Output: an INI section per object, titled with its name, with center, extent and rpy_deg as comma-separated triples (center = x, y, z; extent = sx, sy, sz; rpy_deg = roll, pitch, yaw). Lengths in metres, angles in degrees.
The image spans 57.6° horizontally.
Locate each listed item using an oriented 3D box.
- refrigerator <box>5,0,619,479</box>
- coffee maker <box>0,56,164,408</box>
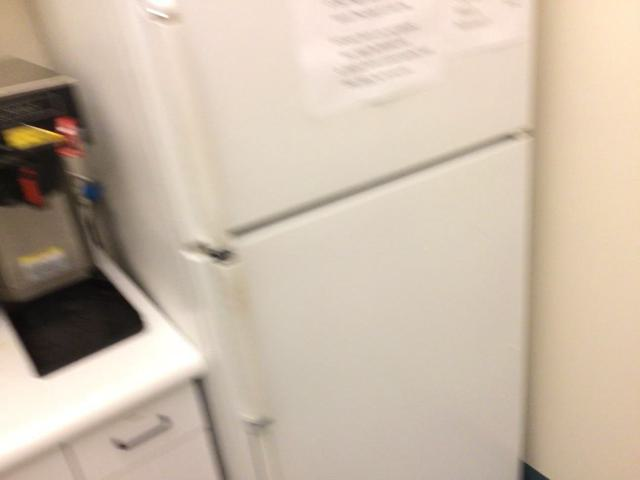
[refrigerator]
center = 0.000, 0.030, 1.390
extent = 0.850, 1.630, 0.870
rpy_deg = -23, 31, -27
[coffee maker]
center = -0.560, -0.050, 1.080
extent = 0.290, 0.480, 0.420
rpy_deg = -23, 31, -27
